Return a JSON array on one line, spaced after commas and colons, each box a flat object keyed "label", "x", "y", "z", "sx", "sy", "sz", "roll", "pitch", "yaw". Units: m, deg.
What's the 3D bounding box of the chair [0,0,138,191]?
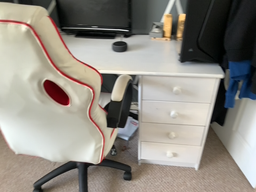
[{"label": "chair", "x": -0.300, "y": 0.070, "z": 1.010, "sx": 0.630, "sy": 1.190, "sz": 0.680, "roll": 3, "pitch": 34, "yaw": 6}]

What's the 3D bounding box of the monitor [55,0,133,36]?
[{"label": "monitor", "x": -0.230, "y": -0.590, "z": 1.440, "sx": 0.520, "sy": 0.340, "sz": 0.040, "roll": 4, "pitch": 34, "yaw": 7}]
